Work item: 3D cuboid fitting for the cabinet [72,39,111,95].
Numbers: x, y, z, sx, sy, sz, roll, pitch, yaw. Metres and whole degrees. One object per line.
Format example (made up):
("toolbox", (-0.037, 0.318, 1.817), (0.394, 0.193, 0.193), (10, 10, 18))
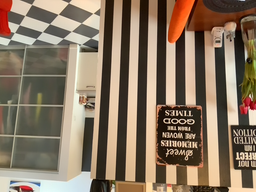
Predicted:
("cabinet", (-0.650, -0.510, 3.960), (0.490, 0.870, 0.670), (1, 170, 7))
